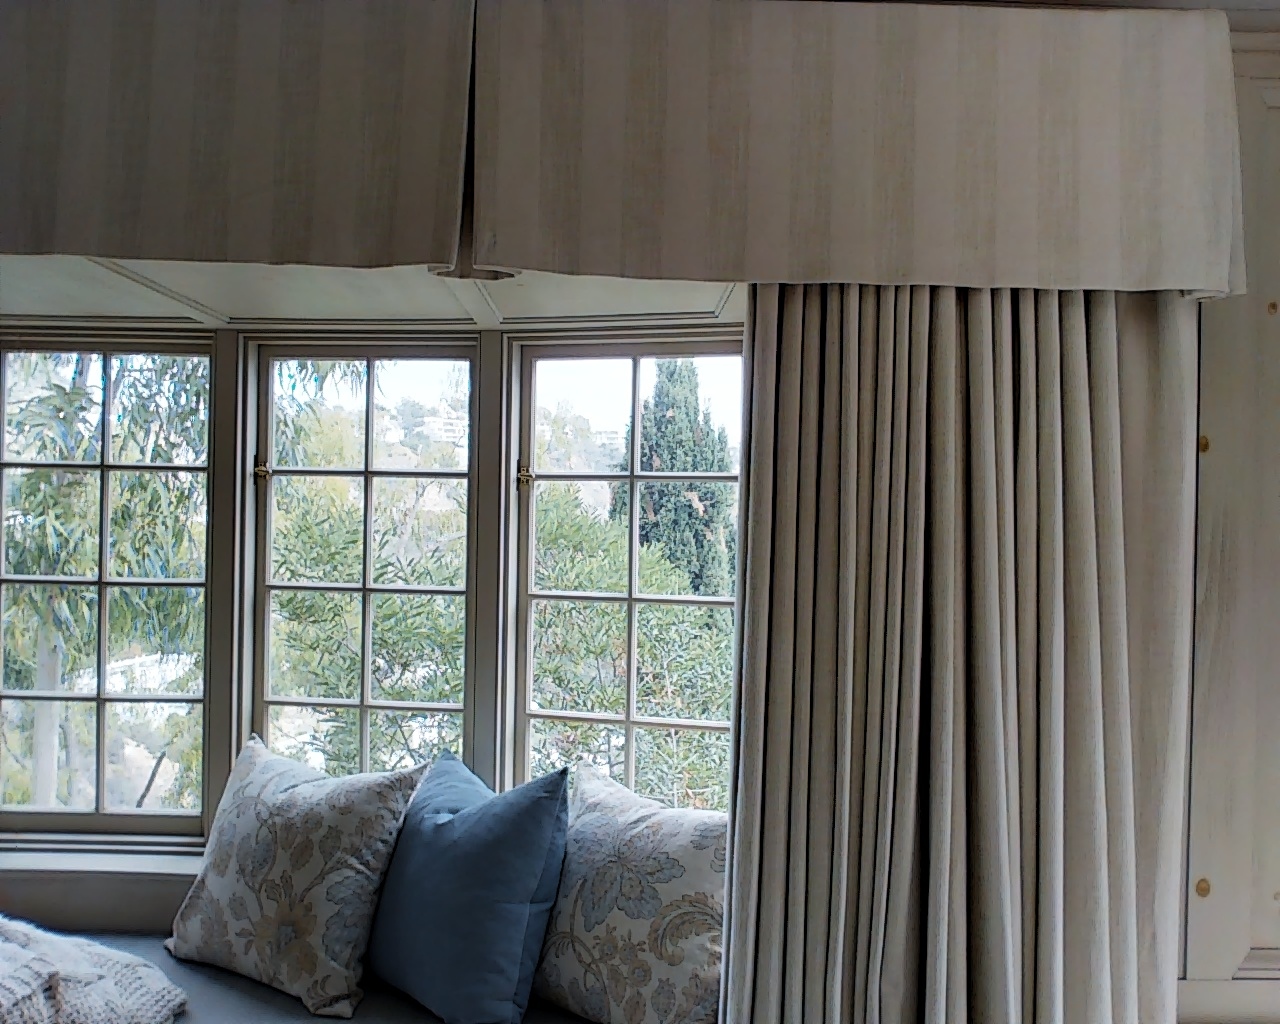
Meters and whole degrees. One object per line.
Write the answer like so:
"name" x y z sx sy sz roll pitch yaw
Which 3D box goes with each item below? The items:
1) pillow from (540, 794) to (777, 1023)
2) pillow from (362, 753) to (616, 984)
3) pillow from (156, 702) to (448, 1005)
"pillow" 0.030 0.780 2.060 0.330 0.430 0.130 -16 2 36
"pillow" -0.310 0.730 2.200 0.370 0.330 0.190 -28 2 33
"pillow" -0.730 0.730 2.320 0.450 0.480 0.180 -26 -6 19
